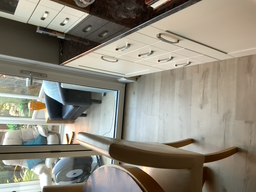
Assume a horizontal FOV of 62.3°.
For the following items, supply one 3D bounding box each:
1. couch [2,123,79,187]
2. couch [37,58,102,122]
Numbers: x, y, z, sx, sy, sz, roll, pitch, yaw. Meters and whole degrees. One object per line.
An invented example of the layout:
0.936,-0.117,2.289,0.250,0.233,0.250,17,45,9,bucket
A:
-1.570,0.970,3.790,0.790,1.050,0.890,-2,83,55,couch
-0.950,-0.050,3.360,0.760,0.740,0.660,-38,54,46,couch
